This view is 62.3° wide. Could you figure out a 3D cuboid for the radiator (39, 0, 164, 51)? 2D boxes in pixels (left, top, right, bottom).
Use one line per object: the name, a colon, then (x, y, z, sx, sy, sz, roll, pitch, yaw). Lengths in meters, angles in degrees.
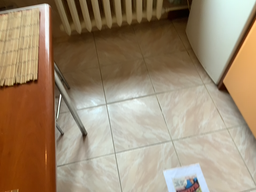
radiator: (-0.180, -0.750, 1.580, 0.870, 0.630, 0.260, -14, 57, -7)
